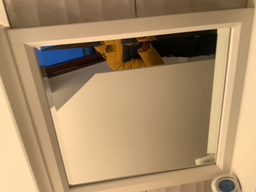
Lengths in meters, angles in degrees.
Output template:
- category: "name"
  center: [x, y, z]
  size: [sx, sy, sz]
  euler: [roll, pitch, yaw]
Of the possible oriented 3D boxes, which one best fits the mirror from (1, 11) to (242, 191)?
- category: "mirror"
  center: [0.020, 0.070, 0.630]
  size: [0.030, 0.580, 0.550]
  euler: [-109, 12, -65]
